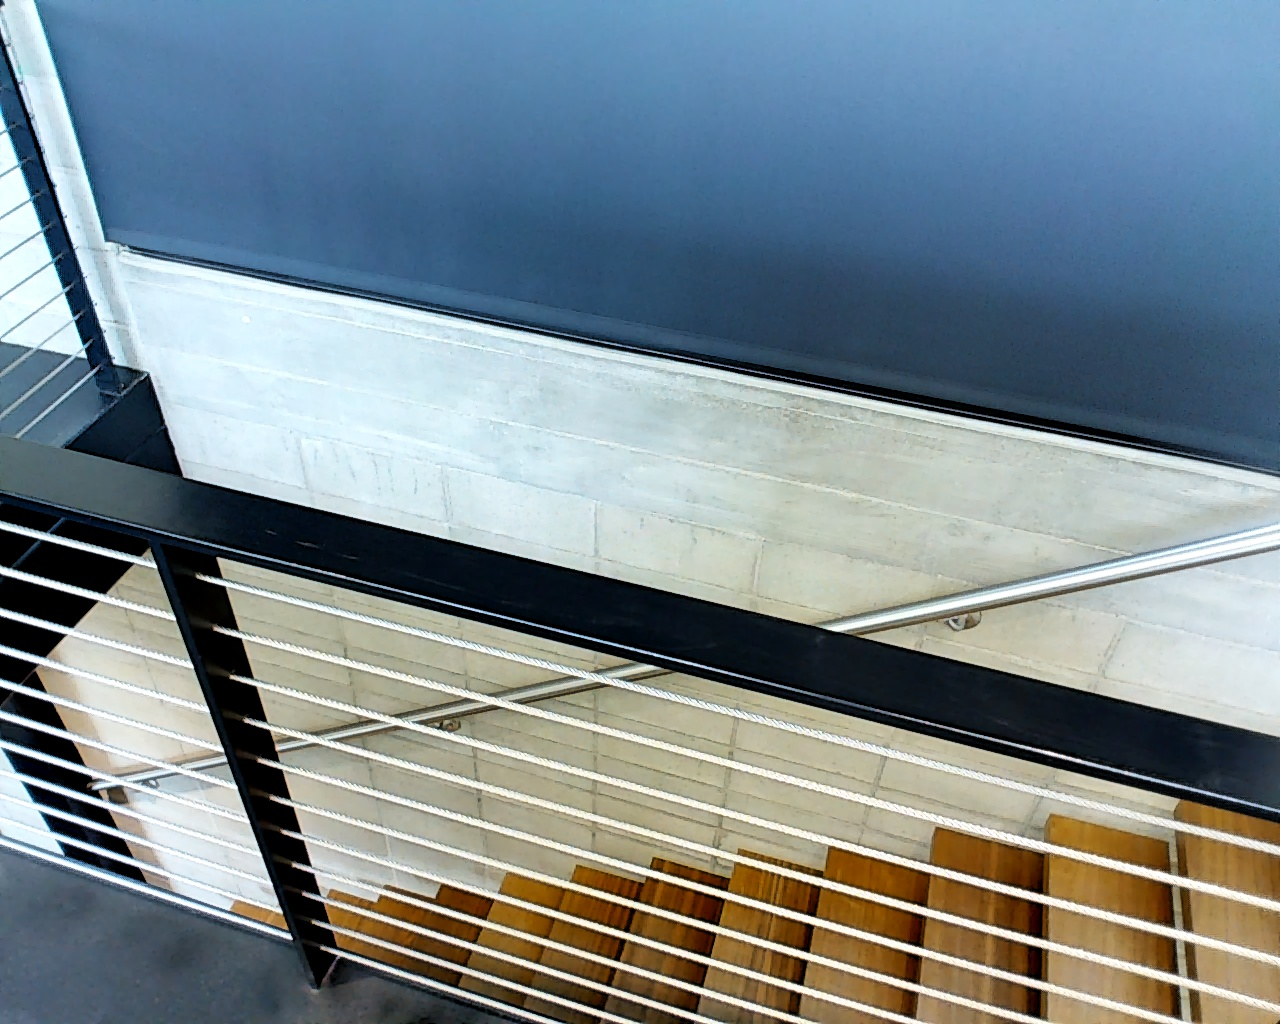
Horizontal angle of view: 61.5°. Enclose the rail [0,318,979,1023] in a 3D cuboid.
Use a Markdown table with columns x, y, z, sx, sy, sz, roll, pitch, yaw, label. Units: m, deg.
| x | y | z | sx | sy | sz | roll | pitch | yaw | label |
| --- | --- | --- | --- | --- | --- | --- | --- | --- | --- |
| -0.480 | 0.830 | 3.430 | 3.690 | 0.130 | 0.740 | 38 | -48 | -14 | rail |
